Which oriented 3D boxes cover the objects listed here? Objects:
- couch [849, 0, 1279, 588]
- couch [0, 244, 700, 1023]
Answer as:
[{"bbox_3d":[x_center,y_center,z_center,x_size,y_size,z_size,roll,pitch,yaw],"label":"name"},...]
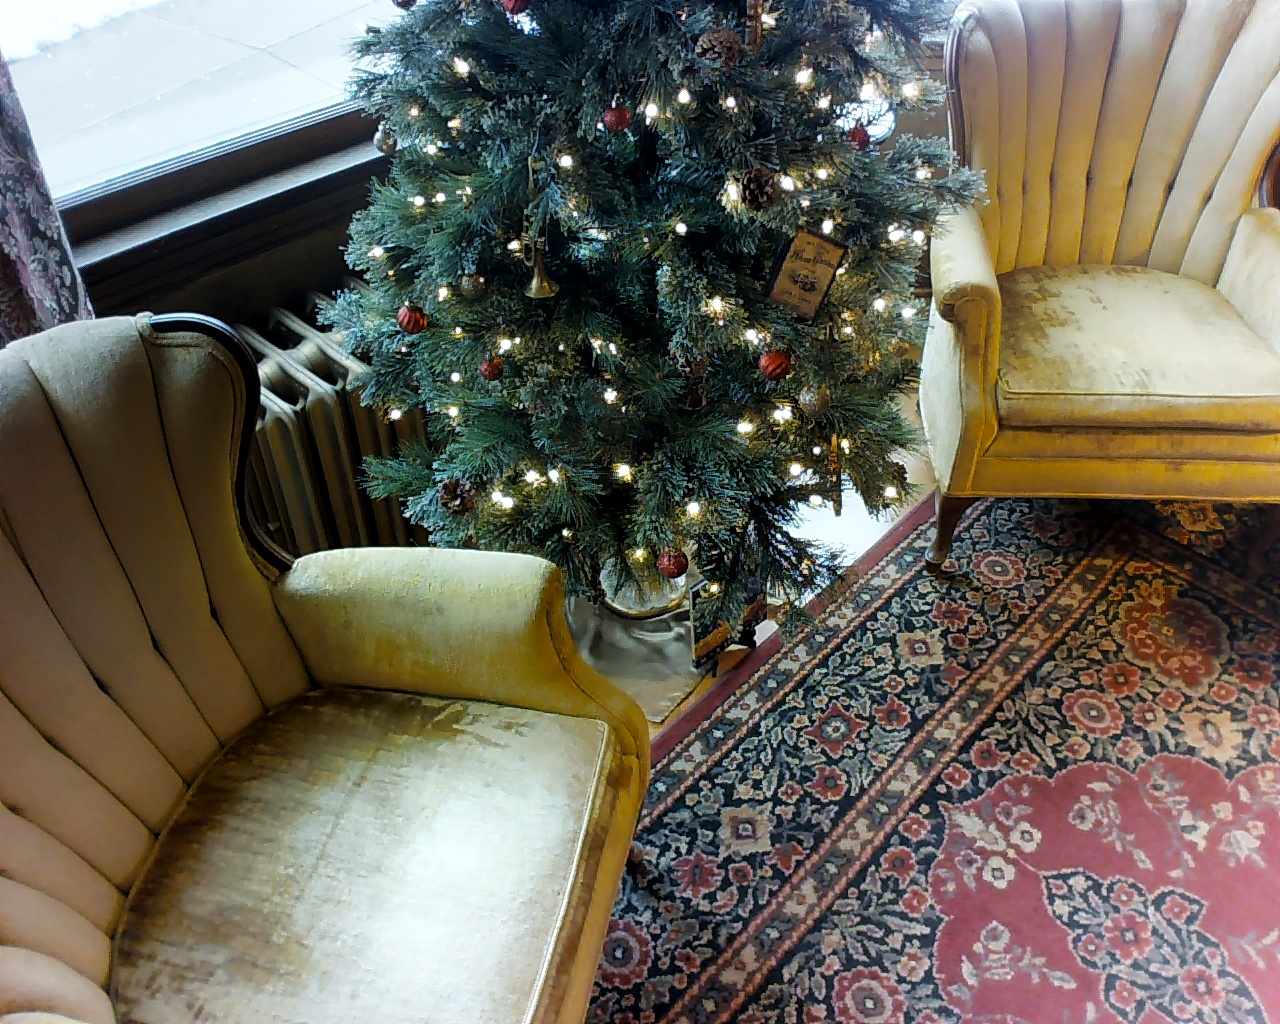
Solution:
[{"bbox_3d":[0.940,-0.480,2.100,0.810,0.900,0.860,-1,42,-1],"label":"couch"},{"bbox_3d":[-0.380,0.320,1.200,0.730,0.860,0.790,9,43,9],"label":"couch"}]
